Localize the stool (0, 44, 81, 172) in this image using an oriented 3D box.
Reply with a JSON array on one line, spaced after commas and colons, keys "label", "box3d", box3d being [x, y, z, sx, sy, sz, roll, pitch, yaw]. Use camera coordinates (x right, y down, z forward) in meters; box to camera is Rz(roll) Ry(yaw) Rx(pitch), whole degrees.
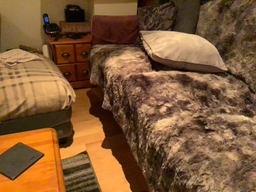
[{"label": "stool", "box3d": [-0.710, 0.020, 1.300, 0.620, 0.470, 0.670, -12, 32, -26]}]
